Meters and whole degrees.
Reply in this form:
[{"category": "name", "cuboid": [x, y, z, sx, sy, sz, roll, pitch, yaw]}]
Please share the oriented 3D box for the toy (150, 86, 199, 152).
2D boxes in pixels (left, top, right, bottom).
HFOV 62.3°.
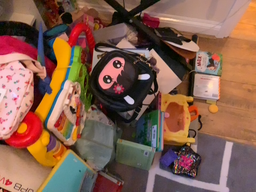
[{"category": "toy", "cuboid": [0.230, 0.110, 1.050, 0.200, 0.080, 0.280, 10, 67, 4]}]
